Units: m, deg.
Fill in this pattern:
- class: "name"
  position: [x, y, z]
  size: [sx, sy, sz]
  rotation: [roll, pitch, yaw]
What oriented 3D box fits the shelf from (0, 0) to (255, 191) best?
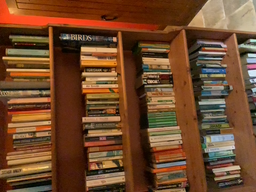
- class: "shelf"
  position: [0.170, 0.050, 1.210]
  size: [0.360, 1.860, 0.960]
  rotation: [150, 117, -70]
